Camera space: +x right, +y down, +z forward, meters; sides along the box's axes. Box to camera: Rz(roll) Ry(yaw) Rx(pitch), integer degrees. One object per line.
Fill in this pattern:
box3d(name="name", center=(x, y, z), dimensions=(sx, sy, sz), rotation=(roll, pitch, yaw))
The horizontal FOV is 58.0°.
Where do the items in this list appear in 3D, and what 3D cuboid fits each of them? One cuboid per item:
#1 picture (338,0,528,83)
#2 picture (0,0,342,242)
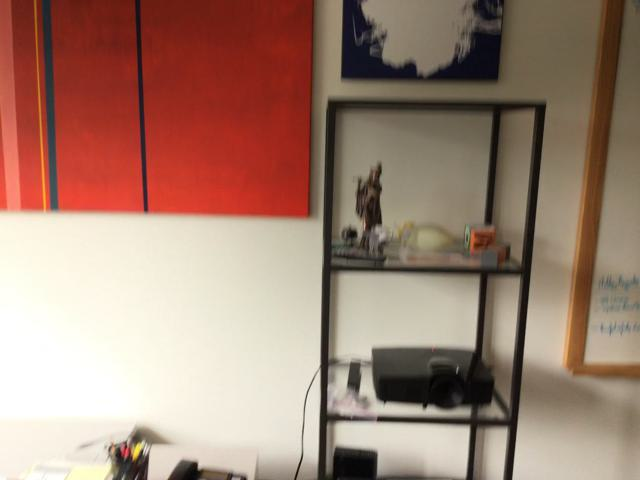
box3d(name="picture", center=(0.290, -0.770, 1.550), dimensions=(0.500, 0.630, 0.050), rotation=(-5, 10, 1))
box3d(name="picture", center=(-0.630, -0.520, 1.600), dimensions=(1.290, 0.990, 0.080), rotation=(-6, 10, 1))
